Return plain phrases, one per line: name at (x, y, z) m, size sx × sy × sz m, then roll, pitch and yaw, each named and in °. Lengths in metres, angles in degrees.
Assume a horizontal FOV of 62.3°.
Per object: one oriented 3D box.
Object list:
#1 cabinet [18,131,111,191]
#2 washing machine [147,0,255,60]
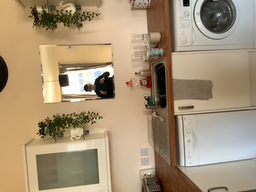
cabinet at (-0.590, 0.660, 2.100) m, size 0.310 × 0.790 × 0.490 m, roll -161°, pitch 68°, yaw -81°
washing machine at (0.720, -0.700, 2.080) m, size 0.610 × 0.920 × 0.590 m, roll -161°, pitch 68°, yaw -81°
